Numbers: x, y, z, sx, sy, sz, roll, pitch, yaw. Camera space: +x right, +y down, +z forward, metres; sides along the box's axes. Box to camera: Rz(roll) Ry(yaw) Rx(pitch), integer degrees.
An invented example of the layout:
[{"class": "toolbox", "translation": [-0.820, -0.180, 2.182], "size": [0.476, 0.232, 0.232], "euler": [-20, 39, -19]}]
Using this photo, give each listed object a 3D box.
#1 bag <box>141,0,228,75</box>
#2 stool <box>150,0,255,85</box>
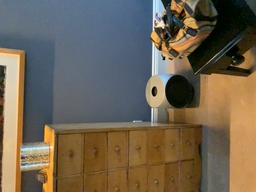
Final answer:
[{"class": "bag", "translation": [0.250, -0.340, 1.060], "size": [0.340, 0.160, 0.320], "euler": [-45, 50, 51]}, {"class": "stool", "translation": [0.490, -0.550, 1.310], "size": [0.350, 0.500, 0.890], "euler": [-51, 45, 47]}]
